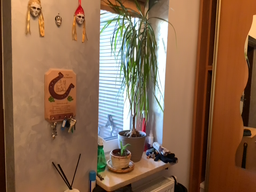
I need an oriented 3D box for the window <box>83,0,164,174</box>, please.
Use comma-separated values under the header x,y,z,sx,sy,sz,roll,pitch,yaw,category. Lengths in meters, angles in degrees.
x,y,z,sx,sy,sz,roll,pitch,yaw,category
-0.020,-0.110,1.410,0.530,1.080,0.180,-4,8,-43,window
